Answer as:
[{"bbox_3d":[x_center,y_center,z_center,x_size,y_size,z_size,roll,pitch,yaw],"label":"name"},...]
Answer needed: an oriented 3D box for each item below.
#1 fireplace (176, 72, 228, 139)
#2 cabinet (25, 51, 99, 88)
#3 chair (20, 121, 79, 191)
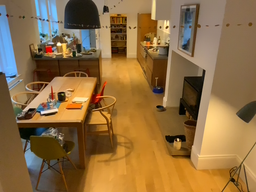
[{"bbox_3d":[1.230,0.120,3.740,0.440,0.830,0.990,-1,22,-3],"label":"fireplace"},{"bbox_3d":[-1.810,-0.780,6.080,1.840,0.900,0.640,-1,22,-3],"label":"cabinet"},{"bbox_3d":[-0.920,0.740,2.610,0.490,0.720,0.450,0,22,-2],"label":"chair"}]
